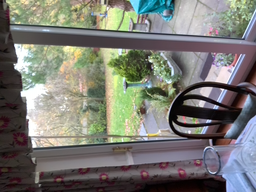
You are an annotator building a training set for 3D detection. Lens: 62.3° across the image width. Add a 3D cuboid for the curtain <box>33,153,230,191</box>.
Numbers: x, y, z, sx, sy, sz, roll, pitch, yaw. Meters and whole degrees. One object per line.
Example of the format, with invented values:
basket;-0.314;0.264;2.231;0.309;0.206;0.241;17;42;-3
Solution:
curtain;0.070;0.980;2.240;0.240;1.890;0.640;-109;24;-50
